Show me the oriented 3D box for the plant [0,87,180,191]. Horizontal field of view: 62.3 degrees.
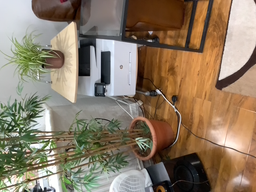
[{"bbox_3d":[-0.380,0.270,1.300,0.390,1.600,0.590,11,101,53],"label":"plant"}]
